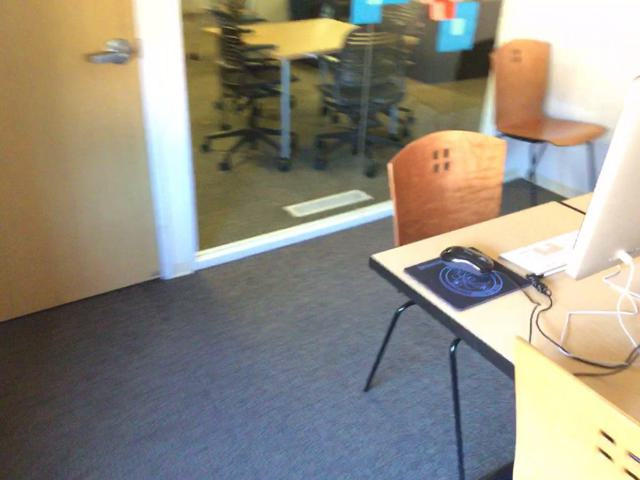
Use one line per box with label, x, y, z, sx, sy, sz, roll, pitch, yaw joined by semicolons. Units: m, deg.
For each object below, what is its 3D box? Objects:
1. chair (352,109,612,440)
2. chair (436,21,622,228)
chair;0.390;0.090;1.690;0.500;0.790;0.480;-5;30;-7
chair;1.020;-0.610;2.950;0.540;0.840;0.550;-17;33;-26
